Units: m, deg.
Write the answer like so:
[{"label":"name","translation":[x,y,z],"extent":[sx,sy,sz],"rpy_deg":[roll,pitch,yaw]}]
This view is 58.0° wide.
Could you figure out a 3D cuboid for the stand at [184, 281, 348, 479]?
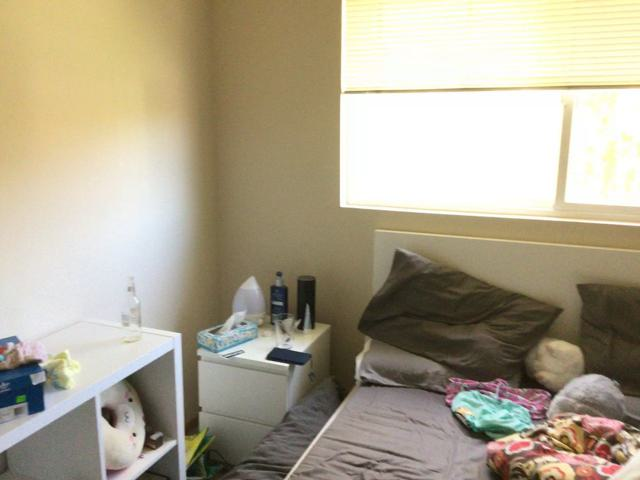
[{"label":"stand","translation":[-0.200,0.590,2.490],"extent":[0.450,0.660,0.580],"rpy_deg":[3,12,23]}]

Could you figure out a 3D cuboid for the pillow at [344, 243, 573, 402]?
[{"label":"pillow","translation":[0.520,0.280,2.200],"extent":[0.790,0.440,0.300],"rpy_deg":[3,12,23]}]

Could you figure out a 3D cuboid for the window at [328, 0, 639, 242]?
[{"label":"window","translation":[0.930,-0.490,2.180],"extent":[1.750,0.900,0.430],"rpy_deg":[3,12,23]}]

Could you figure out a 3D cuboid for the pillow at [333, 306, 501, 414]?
[{"label":"pillow","translation":[0.390,0.440,2.250],"extent":[0.550,0.190,0.440],"rpy_deg":[3,12,23]}]
